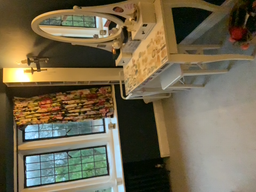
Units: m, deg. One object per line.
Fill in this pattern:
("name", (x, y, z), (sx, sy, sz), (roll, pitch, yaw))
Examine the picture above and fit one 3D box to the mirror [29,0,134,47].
("mirror", (-0.390, -0.570, 1.780), (0.610, 0.720, 0.070), (146, 119, -70))
